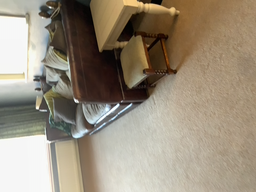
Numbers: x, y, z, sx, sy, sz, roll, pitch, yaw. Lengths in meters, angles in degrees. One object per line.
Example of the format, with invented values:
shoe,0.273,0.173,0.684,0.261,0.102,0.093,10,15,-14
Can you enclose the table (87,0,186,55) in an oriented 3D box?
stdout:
table,0.020,-0.750,1.760,0.610,0.500,0.550,-38,59,58

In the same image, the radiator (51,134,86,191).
radiator,-1.180,1.810,4.340,0.130,0.540,1.980,-42,56,56

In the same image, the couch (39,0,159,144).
couch,-0.610,-0.120,2.740,2.100,0.780,1.060,-38,59,58
